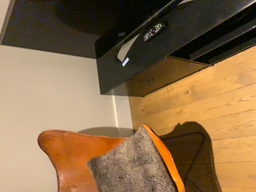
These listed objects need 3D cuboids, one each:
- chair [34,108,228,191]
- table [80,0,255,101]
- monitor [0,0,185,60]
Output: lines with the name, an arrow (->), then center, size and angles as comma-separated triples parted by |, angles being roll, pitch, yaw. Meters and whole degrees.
chair -> 0.010, 0.550, 1.330 | 0.760, 0.900, 0.780 | -25, 69, 48
table -> 0.270, -0.420, 1.390 | 1.570, 0.480, 0.490 | -25, 69, 48
monitor -> -0.130, -0.420, 0.970 | 1.050, 0.660, 0.030 | -22, 71, 49
